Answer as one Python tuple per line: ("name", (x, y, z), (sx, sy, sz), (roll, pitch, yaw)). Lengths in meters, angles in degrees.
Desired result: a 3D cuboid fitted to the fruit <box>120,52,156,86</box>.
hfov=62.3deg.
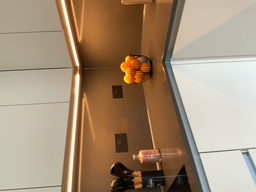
("fruit", (0.060, -0.190, 1.480), (0.200, 0.220, 0.210), (-125, 32, -82))
